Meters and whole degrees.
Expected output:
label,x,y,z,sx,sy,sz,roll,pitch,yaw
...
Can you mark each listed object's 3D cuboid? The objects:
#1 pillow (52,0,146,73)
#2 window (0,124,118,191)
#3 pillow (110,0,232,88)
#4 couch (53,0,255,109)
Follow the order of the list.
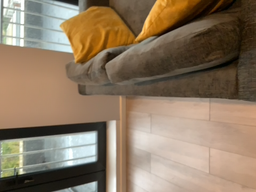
label,x,y,z,sx,sy,sz,roll,pitch,yaw
pillow,-0.250,-0.540,1.730,0.650,0.450,0.220,48,145,26
window,-1.010,0.910,2.030,0.120,2.080,1.120,0,90,55
pillow,0.240,-0.400,0.980,0.200,0.440,0.810,53,150,12
couch,0.200,-0.470,1.430,1.730,0.880,0.990,1,91,55
